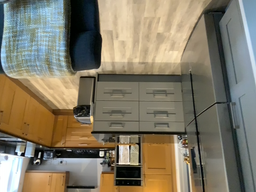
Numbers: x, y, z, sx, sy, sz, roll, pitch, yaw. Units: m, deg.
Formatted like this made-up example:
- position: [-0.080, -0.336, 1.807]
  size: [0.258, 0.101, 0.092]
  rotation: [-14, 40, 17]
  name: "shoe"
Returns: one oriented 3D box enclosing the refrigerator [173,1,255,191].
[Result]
- position: [0.780, 0.220, 1.920]
  size: [0.430, 1.800, 0.960]
  rotation: [1, 160, -1]
  name: "refrigerator"
